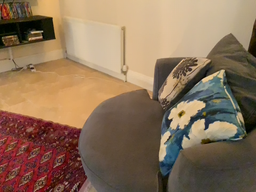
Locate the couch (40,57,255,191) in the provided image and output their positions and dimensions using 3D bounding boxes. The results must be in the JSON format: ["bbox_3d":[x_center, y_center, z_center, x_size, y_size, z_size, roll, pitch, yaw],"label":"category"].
[{"bbox_3d":[0.160,0.250,1.450,1.080,0.790,0.890,0,28,-3],"label":"couch"}]
